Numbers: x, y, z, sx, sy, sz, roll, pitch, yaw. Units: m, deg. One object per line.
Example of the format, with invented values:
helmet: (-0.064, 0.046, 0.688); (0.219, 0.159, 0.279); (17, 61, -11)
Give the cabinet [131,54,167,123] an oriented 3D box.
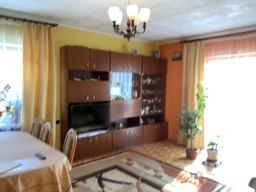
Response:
cabinet: (0.610, -0.200, 5.900); (1.020, 1.780, 0.330); (-1, 4, -40)
